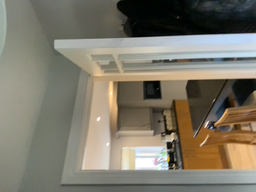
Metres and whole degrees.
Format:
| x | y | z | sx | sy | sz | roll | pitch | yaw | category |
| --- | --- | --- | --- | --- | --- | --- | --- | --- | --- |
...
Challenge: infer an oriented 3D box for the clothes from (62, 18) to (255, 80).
| x | y | z | sx | sy | sz | roll | pitch | yaw | category |
| --- | --- | --- | --- | --- | --- | --- | --- | --- | --- |
| 0.730 | -0.220 | 1.200 | 0.810 | 1.950 | 0.130 | 51 | -142 | -87 | clothes |

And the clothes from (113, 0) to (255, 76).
| x | y | z | sx | sy | sz | roll | pitch | yaw | category |
| --- | --- | --- | --- | --- | --- | --- | --- | --- | --- |
| 0.620 | -0.360 | 1.270 | 0.520 | 1.370 | 0.300 | 81 | -172 | -77 | clothes |
